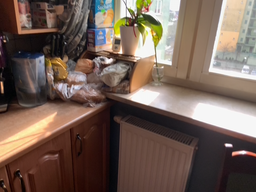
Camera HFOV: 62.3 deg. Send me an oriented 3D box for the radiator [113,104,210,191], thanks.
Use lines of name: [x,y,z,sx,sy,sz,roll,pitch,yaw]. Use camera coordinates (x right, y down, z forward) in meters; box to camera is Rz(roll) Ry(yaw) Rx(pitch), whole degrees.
radiator: [0.150,0.440,1.210,0.450,0.680,0.170,17,26,30]
